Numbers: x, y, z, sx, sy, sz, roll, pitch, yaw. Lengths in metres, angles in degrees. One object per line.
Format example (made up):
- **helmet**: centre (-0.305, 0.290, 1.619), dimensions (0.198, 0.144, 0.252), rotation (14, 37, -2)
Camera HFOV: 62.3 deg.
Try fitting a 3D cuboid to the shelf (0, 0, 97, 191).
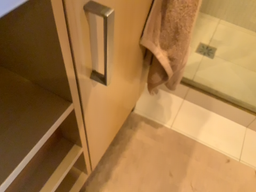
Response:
- **shelf**: centre (-0.300, 0.080, 0.510), dimensions (0.380, 0.780, 0.200), rotation (26, 55, 13)
